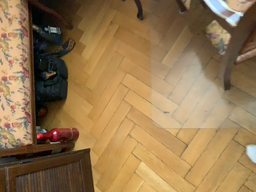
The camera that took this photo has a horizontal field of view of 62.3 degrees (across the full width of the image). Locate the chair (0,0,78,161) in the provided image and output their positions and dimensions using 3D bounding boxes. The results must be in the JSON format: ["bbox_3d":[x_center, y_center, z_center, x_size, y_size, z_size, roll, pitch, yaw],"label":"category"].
[{"bbox_3d":[-0.930,-0.350,1.250,0.640,0.970,1.470,-13,78,20],"label":"chair"}]
